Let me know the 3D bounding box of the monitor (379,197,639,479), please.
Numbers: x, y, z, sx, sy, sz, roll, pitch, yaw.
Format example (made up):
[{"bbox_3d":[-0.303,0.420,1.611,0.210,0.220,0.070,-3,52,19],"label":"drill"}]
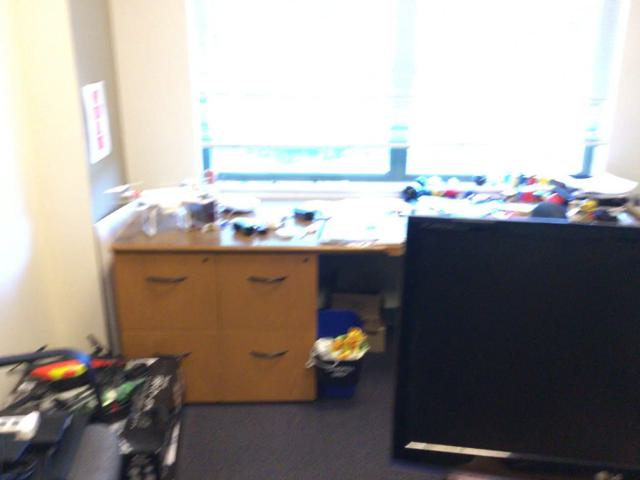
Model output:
[{"bbox_3d":[0.420,0.210,0.820,0.650,0.500,0.170,2,18,5],"label":"monitor"}]

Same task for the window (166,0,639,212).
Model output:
[{"bbox_3d":[0.520,-0.840,2.700,2.360,1.360,0.230,-1,18,-4],"label":"window"}]

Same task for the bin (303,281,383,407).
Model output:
[{"bbox_3d":[0.080,0.420,2.450,0.280,0.340,0.460,-1,18,-4],"label":"bin"}]
